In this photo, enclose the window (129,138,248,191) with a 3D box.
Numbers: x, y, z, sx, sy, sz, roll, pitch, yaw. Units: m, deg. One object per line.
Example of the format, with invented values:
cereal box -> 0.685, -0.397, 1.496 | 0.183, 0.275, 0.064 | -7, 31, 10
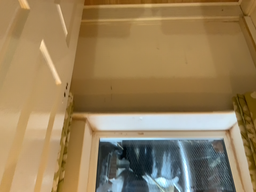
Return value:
window -> 0.360, 0.800, 1.150 | 0.700, 1.160, 0.050 | -1, 149, 1
